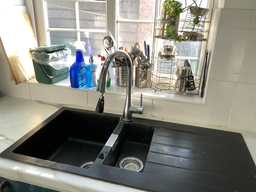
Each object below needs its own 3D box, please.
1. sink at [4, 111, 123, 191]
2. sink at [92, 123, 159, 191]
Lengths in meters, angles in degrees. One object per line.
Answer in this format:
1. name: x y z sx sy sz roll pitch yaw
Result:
1. sink: -0.280 0.270 1.070 0.400 0.180 0.420 7 22 13
2. sink: 0.010 0.280 0.980 0.210 0.120 0.370 7 22 13
